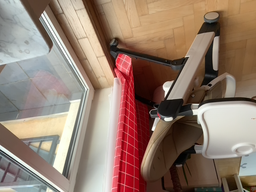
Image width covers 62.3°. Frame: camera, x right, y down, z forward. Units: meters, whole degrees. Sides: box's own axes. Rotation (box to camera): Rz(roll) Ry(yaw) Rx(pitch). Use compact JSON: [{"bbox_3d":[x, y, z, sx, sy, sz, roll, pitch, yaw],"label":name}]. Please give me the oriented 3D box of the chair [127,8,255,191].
[{"bbox_3d":[0.390,0.030,1.360,0.600,0.920,0.630,-11,136,14],"label":"chair"}]
